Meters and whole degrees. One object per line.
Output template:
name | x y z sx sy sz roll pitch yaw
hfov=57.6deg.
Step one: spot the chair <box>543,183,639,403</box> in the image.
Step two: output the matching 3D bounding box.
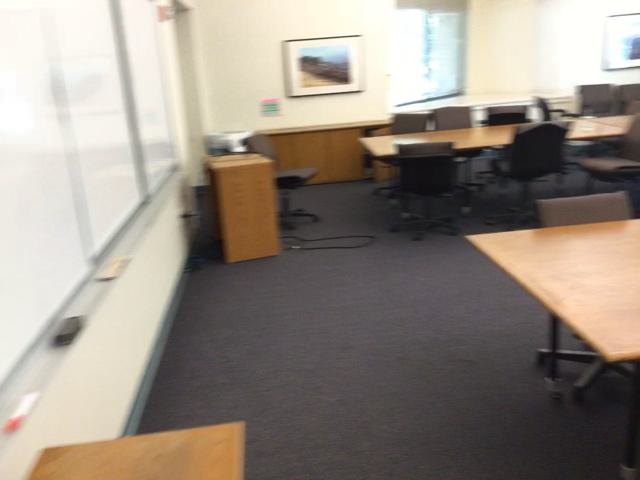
chair | 1.330 0.220 2.630 0.470 0.840 0.460 -6 15 2
